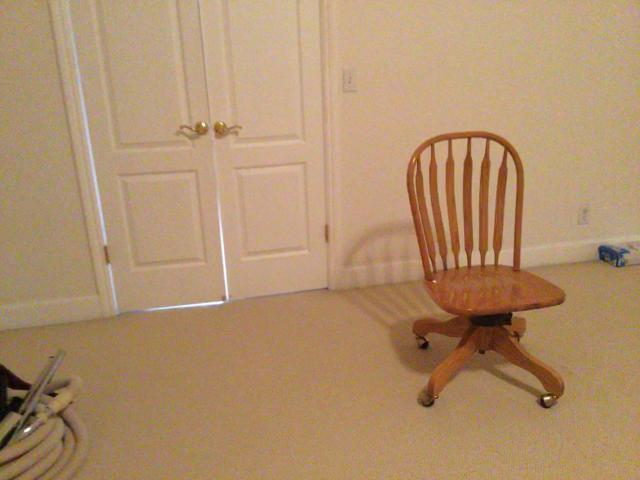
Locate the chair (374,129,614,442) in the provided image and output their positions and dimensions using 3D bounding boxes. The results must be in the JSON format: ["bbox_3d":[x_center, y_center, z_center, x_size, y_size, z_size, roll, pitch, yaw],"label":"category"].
[{"bbox_3d":[0.610,0.120,2.130,0.610,0.930,0.530,-10,17,-12],"label":"chair"}]
